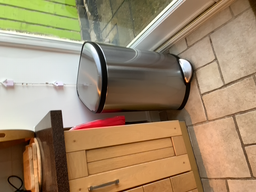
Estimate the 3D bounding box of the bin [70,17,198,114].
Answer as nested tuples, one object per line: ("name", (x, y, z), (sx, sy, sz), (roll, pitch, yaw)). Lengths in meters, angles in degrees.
("bin", (0.040, -0.150, 1.340), (0.330, 0.680, 0.430), (-26, 69, 53))
